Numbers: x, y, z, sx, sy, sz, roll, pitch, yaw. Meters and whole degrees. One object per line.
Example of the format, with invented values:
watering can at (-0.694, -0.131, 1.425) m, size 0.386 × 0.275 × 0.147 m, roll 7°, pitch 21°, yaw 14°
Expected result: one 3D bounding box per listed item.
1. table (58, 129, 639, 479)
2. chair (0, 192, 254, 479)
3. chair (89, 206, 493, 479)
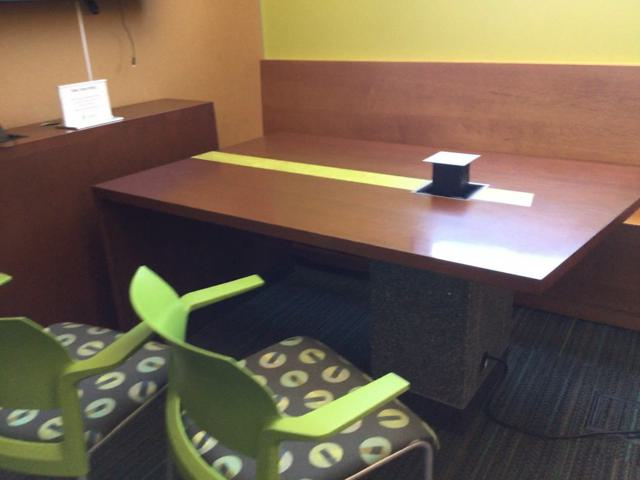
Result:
table at (0.160, 0.120, 2.100) m, size 1.800 × 0.790 × 1.090 m, roll 9°, pitch 24°, yaw 32°
chair at (-0.640, 0.390, 1.430) m, size 0.630 × 0.830 × 0.600 m, roll 9°, pitch 25°, yaw 33°
chair at (-0.080, 0.440, 1.300) m, size 0.620 × 0.810 × 0.620 m, roll -13°, pitch 22°, yaw -23°
